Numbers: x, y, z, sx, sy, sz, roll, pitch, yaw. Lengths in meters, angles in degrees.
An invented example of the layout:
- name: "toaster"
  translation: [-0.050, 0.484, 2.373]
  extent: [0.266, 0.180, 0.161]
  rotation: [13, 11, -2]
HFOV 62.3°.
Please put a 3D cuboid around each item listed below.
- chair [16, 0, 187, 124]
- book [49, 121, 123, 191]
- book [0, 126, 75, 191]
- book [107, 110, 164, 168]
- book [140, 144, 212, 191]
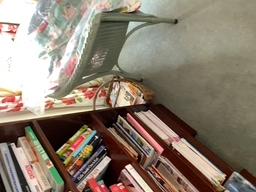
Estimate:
- name: "chair"
  translation: [-0.210, -0.340, 1.330]
  extent: [0.630, 0.660, 0.660]
  rotation: [51, 129, 28]
- name: "book"
  translation: [-0.180, 0.240, 0.870]
  extent: [0.240, 0.180, 0.130]
  rotation: [40, 123, 35]
- name: "book"
  translation: [-0.330, 0.270, 0.720]
  extent: [0.260, 0.160, 0.190]
  rotation: [40, 123, 35]
- name: "book"
  translation: [0.030, 0.210, 1.090]
  extent: [0.210, 0.150, 0.170]
  rotation: [40, 123, 35]
- name: "book"
  translation: [0.200, 0.360, 0.920]
  extent: [0.220, 0.140, 0.170]
  rotation: [40, 123, 35]
